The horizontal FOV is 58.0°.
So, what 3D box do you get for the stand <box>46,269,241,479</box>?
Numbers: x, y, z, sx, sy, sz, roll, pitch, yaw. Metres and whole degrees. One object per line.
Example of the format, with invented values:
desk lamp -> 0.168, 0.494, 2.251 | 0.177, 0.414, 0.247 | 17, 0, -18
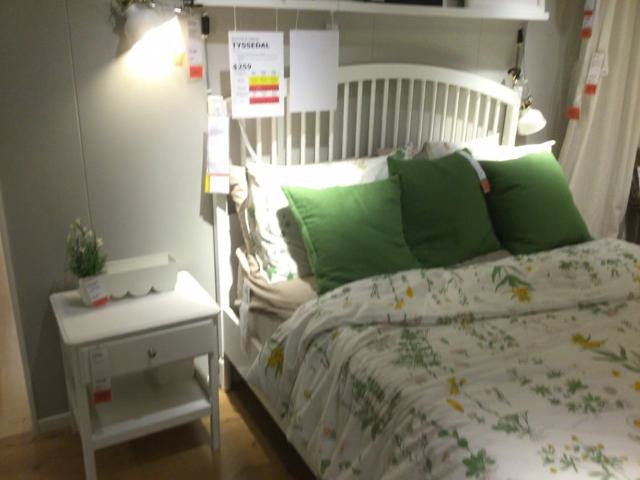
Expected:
stand -> -0.640, 0.500, 2.110 | 0.560, 0.590, 0.430 | -10, 21, -23
